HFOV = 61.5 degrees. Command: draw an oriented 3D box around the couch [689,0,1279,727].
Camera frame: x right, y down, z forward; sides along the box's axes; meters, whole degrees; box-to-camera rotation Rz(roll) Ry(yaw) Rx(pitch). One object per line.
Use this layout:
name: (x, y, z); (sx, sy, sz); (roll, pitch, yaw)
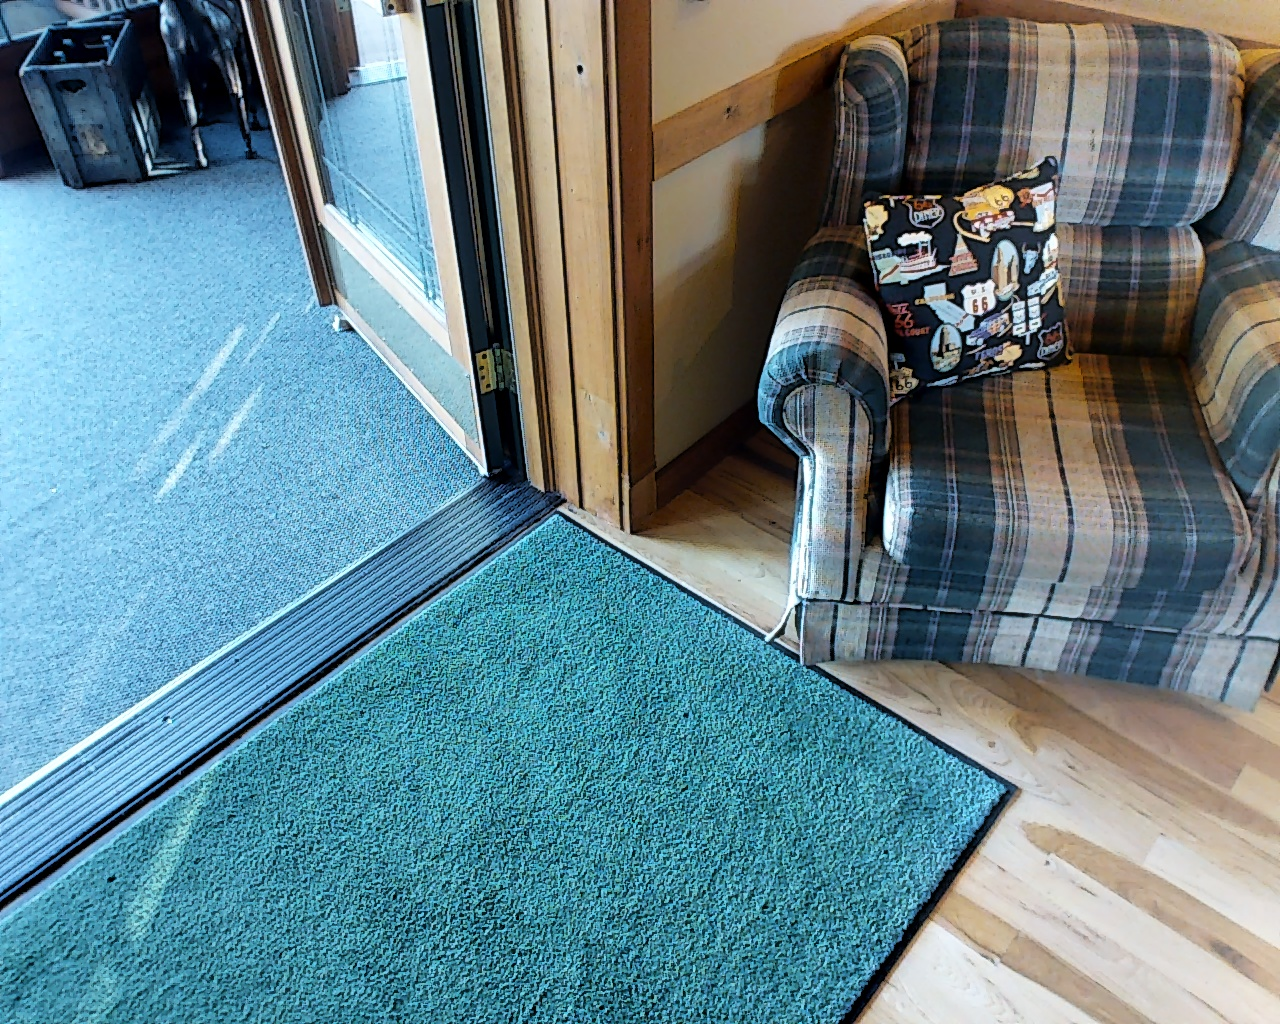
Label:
couch: (0.760, -0.360, 1.920); (1.240, 0.950, 1.030); (4, 42, 6)
